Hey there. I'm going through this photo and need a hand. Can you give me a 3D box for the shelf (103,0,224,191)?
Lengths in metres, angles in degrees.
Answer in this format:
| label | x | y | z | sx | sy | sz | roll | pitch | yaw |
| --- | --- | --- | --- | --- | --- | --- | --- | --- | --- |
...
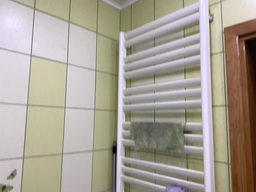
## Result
| label | x | y | z | sx | sy | sz | roll | pitch | yaw |
| --- | --- | --- | --- | --- | --- | --- | --- | --- | --- |
| shelf | 0.140 | 0.580 | 1.130 | 0.680 | 2.010 | 0.140 | -6 | -10 | 43 |
